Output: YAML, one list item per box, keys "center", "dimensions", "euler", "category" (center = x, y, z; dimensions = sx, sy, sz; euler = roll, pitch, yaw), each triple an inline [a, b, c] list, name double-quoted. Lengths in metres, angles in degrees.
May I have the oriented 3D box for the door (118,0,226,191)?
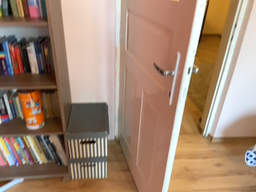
- center: [0.120, -0.230, 1.180]
  dimensions: [0.130, 2.020, 0.890]
  euler: [-4, 31, -13]
  category: "door"
